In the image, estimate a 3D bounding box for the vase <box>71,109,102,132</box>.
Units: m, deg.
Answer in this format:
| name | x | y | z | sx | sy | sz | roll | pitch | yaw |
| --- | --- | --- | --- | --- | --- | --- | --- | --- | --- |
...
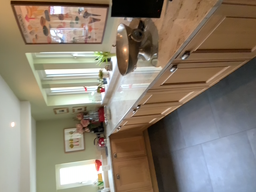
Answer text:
| name | x | y | z | sx | sy | sz | roll | pitch | yaw |
| --- | --- | --- | --- | --- | --- | --- | --- | --- | --- |
| vase | -0.920 | 0.540 | 4.670 | 0.420 | 0.610 | 0.360 | 127 | 137 | -67 |
